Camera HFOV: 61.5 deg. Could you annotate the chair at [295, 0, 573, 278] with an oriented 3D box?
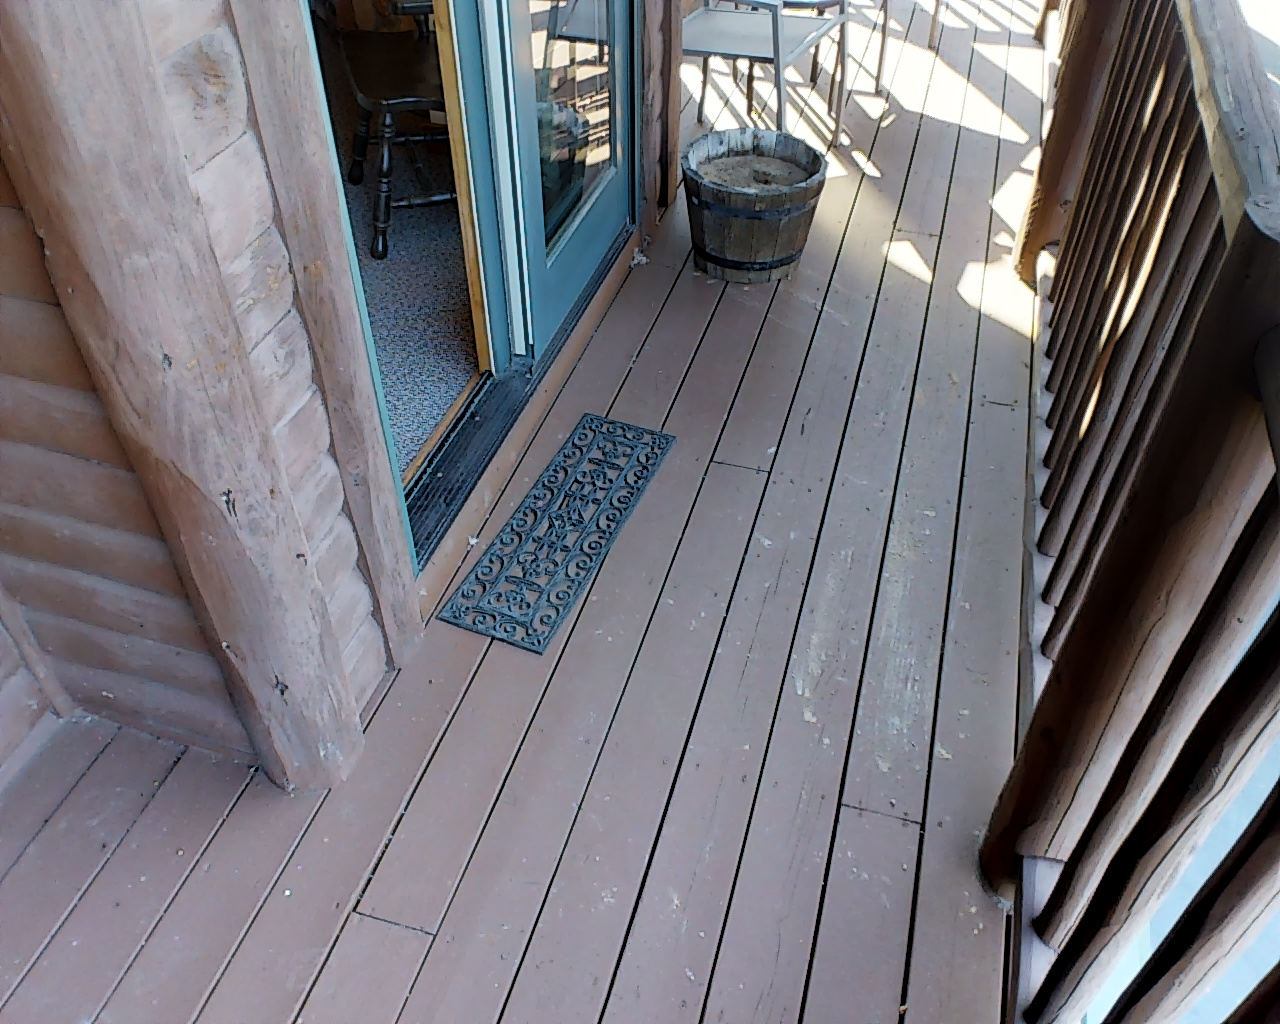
[{"bbox_3d":[-0.560,-1.240,2.840,0.580,0.940,0.660,-13,45,-17],"label":"chair"}]
